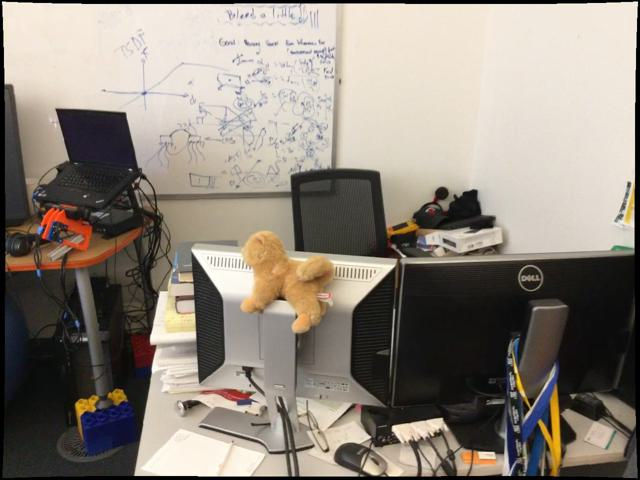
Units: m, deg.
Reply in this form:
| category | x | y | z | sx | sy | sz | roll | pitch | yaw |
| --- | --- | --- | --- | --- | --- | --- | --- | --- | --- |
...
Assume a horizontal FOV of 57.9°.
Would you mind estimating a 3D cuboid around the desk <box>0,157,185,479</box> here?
| category | x | y | z | sx | sy | sz | roll | pitch | yaw |
| --- | --- | --- | --- | --- | --- | --- | --- | --- | --- |
| desk | -1.389 | 0.250 | 2.350 | 1.499 | 0.971 | 0.980 | -1 | 20 | -7 |

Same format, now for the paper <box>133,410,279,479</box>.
| category | x | y | z | sx | sy | sz | roll | pitch | yaw |
| --- | --- | --- | --- | --- | --- | --- | --- | --- | --- |
| paper | -0.240 | 0.450 | 1.240 | 0.260 | 0.030 | 0.160 | 8 | 21 | 17 |

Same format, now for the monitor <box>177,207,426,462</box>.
| category | x | y | z | sx | sy | sz | roll | pitch | yaw |
| --- | --- | --- | --- | --- | --- | --- | --- | --- | --- |
| monitor | -0.050 | 0.190 | 1.270 | 0.460 | 0.460 | 0.270 | -1 | 20 | -7 |

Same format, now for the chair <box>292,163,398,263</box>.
| category | x | y | z | sx | sy | sz | roll | pitch | yaw |
| --- | --- | --- | --- | --- | --- | --- | --- | --- | --- |
| chair | 0.100 | -0.140 | 2.750 | 0.430 | 0.370 | 0.390 | -1 | 20 | -7 |

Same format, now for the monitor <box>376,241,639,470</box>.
| category | x | y | z | sx | sy | sz | roll | pitch | yaw |
| --- | --- | --- | --- | --- | --- | --- | --- | --- | --- |
| monitor | 0.440 | 0.240 | 1.260 | 0.579 | 0.420 | 0.200 | -1 | 20 | -7 |
